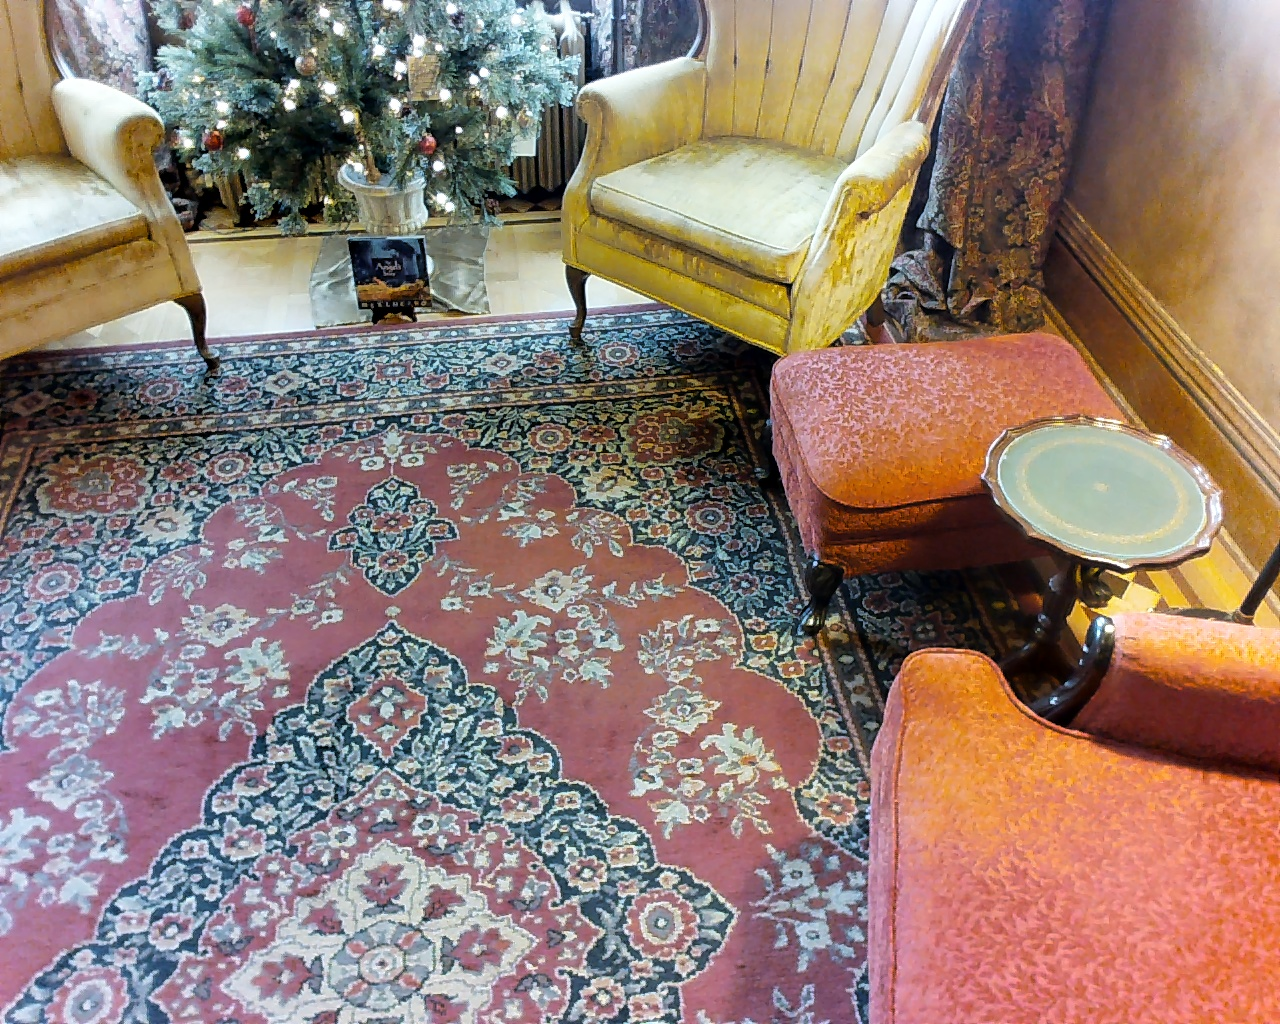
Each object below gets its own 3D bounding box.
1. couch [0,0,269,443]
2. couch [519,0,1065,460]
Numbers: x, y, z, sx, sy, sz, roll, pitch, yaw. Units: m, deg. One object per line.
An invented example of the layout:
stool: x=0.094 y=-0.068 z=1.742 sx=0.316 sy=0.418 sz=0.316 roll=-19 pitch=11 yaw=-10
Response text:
couch: x=-1.430 y=-0.750 z=2.330 sx=0.790 sy=0.860 sz=0.730 roll=-29 pitch=50 yaw=-28
couch: x=0.340 y=-0.840 z=2.450 sx=0.810 sy=0.900 sz=0.860 roll=27 pitch=49 yaw=26
